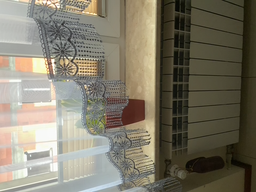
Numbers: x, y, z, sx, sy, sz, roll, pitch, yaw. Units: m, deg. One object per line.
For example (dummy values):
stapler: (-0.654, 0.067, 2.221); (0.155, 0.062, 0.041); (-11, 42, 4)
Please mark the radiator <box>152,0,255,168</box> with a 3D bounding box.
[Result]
radiator: (0.490, -0.290, 1.200); (0.230, 0.600, 1.240); (15, 104, 56)
